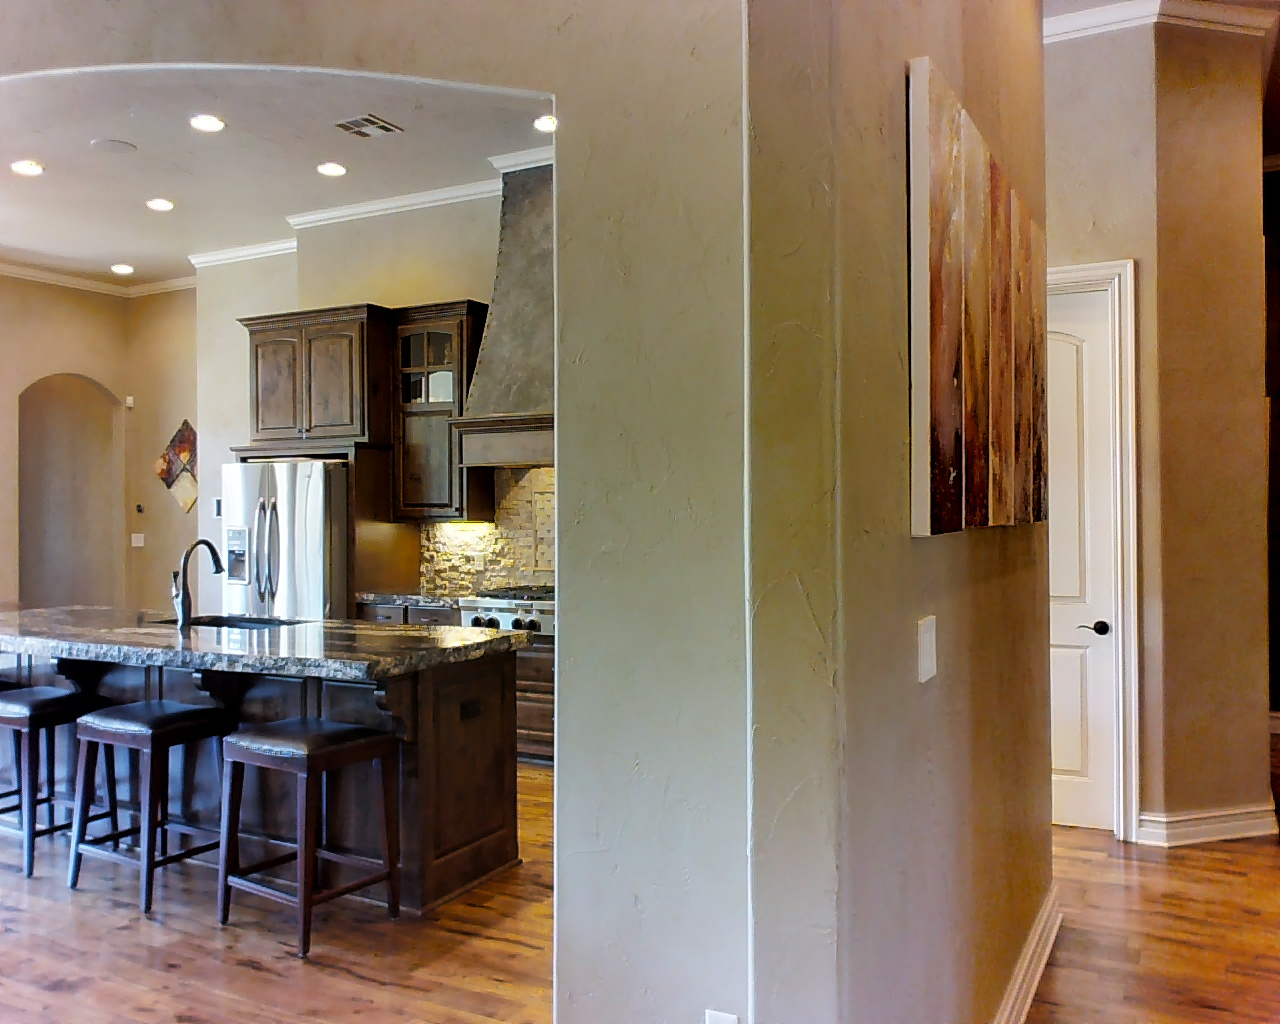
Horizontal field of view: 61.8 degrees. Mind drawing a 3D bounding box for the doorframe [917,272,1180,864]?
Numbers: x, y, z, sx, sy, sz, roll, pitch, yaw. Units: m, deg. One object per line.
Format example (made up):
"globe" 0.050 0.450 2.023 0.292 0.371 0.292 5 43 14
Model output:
"doorframe" 1.850 0.240 4.900 1.090 2.530 0.170 -1 -1 28
